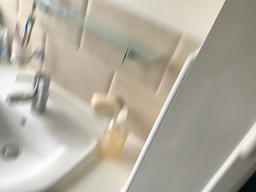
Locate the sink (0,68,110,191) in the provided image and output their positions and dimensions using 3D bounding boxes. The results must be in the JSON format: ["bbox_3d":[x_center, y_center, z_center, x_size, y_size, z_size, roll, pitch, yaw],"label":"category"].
[{"bbox_3d":[-0.410,0.160,0.690,0.520,0.210,0.420,30,31,17],"label":"sink"}]
